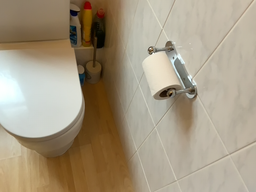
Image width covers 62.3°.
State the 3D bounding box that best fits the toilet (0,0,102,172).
[{"bbox_3d":[-0.430,-0.130,1.010,0.380,0.780,0.710,-9,62,-19],"label":"toilet"}]
